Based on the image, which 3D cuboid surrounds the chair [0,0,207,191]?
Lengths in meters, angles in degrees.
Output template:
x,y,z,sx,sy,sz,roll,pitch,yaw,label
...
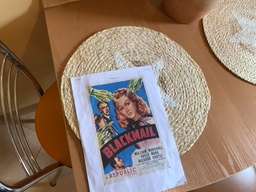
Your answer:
x,y,z,sx,sy,sz,roll,pitch,yaw,label
-0.150,0.100,0.830,0.380,0.850,0.340,-20,76,-17,chair
